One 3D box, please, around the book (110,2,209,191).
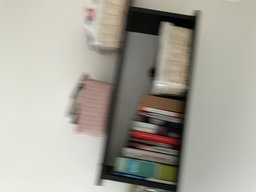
[{"bbox_3d":[0.130,0.060,0.920,0.230,0.280,0.840,90,-170,-80],"label":"book"}]
